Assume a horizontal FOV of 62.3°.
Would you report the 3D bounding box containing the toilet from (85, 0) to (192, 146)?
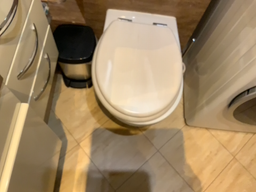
[{"bbox_3d":[0.020,-0.070,1.050,0.370,0.480,0.530,4,67,-5],"label":"toilet"}]
